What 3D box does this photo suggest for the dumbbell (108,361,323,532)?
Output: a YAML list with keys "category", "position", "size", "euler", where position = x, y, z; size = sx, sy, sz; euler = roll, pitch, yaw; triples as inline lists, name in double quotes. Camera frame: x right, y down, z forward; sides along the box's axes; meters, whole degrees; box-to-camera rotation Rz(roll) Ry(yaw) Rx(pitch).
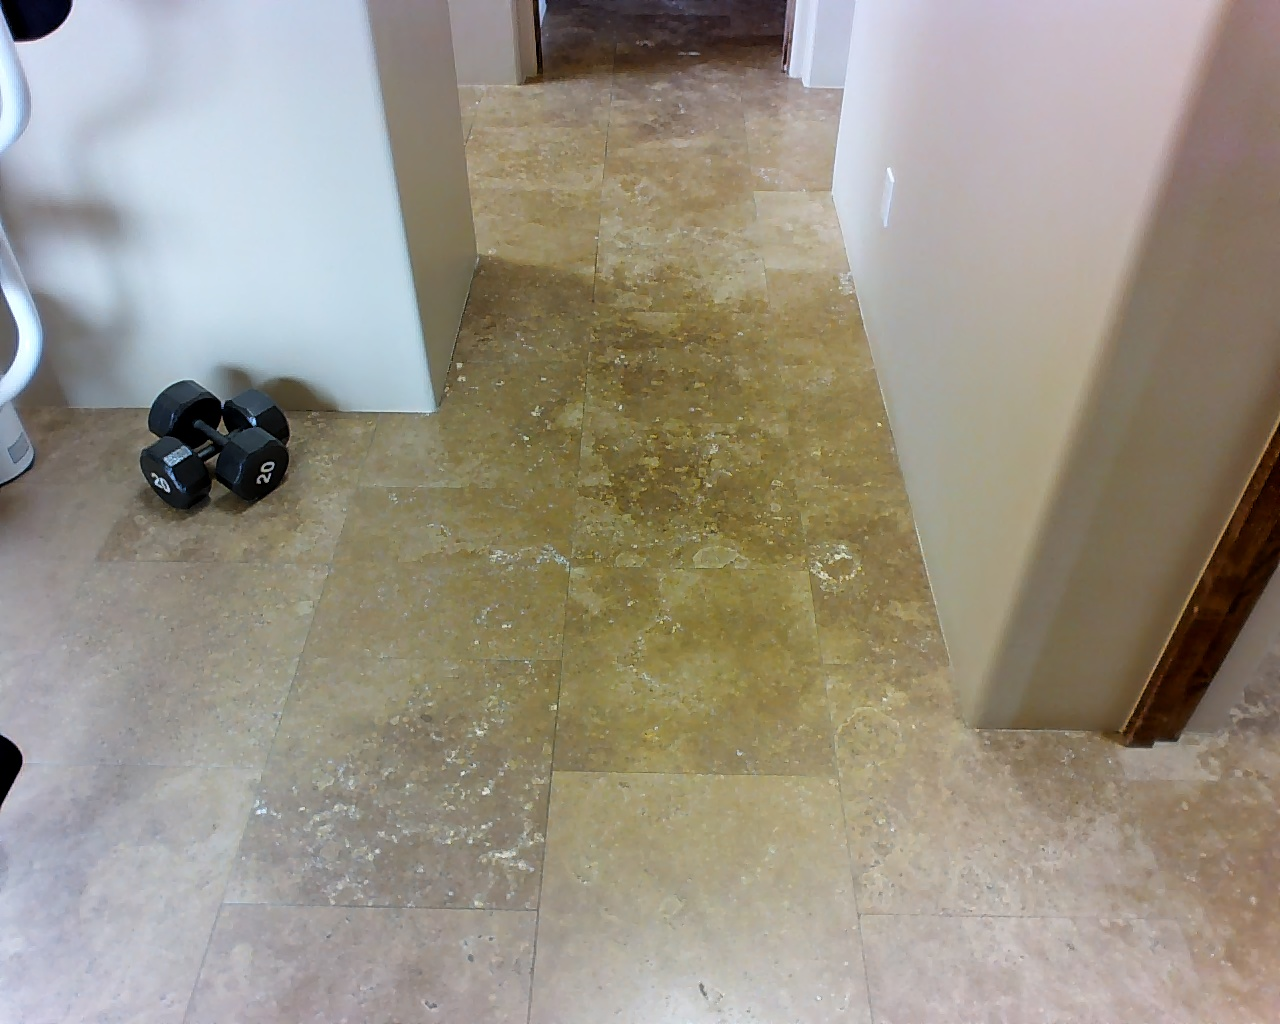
- category: "dumbbell"
  position: [-0.850, -0.140, 2.190]
  size: [0.290, 0.160, 0.360]
  euler: [0, 42, 0]
